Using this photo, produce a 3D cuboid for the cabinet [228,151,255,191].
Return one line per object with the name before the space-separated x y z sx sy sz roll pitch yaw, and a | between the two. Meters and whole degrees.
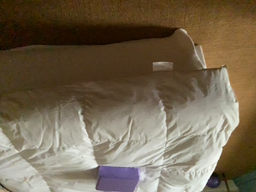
cabinet | 1.540 1.040 2.490 0.380 0.640 0.430 -7 136 2
